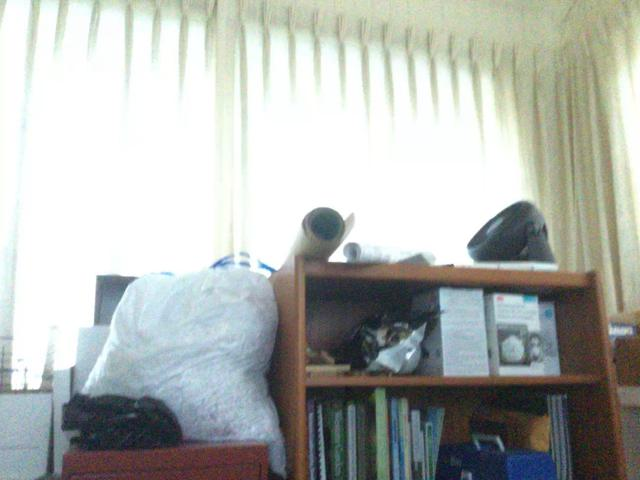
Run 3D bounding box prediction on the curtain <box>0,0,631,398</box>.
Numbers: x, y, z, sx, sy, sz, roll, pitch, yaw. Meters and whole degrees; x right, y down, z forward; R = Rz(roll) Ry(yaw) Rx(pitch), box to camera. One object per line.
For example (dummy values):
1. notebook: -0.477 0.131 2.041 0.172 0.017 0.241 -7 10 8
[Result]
1. curtain: -0.310 -0.310 1.910 2.900 1.590 0.220 4 -15 -18
